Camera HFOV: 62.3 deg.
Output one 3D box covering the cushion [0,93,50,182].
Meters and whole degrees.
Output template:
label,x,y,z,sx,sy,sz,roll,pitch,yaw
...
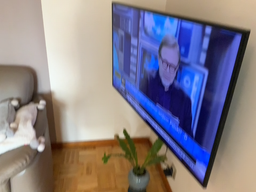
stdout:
label,x,y,z,sx,sy,sz,roll,pitch,yaw
cushion,-0.810,0.240,1.360,0.520,0.280,0.550,-3,27,-14
